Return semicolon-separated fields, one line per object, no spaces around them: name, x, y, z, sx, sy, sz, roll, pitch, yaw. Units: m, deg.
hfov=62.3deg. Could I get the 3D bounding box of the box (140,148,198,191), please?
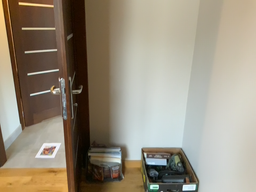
box;0.340;0.700;1.940;0.400;0.220;0.470;1;19;-4
